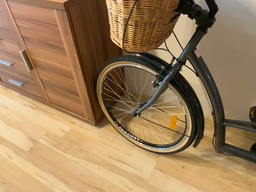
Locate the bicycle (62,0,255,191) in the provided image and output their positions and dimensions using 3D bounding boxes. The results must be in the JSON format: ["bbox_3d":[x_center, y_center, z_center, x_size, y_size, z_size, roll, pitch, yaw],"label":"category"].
[{"bbox_3d":[0.640,0.090,0.810,1.650,1.020,0.520,21,48,24],"label":"bicycle"}]
